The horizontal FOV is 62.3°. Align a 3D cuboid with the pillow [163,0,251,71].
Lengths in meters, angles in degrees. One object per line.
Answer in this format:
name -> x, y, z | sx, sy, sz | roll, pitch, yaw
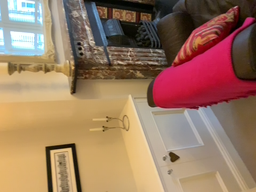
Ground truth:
pillow -> 0.500, -0.400, 1.350 | 0.140, 0.390, 0.450 | 50, 137, -12
